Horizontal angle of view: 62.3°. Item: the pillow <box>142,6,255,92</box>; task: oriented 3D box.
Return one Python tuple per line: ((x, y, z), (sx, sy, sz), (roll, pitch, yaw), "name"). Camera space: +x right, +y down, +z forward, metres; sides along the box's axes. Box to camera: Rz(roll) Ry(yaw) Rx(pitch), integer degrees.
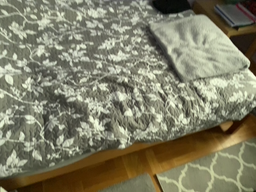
((0.490, -0.390, 1.550), (0.510, 0.120, 0.730), (-13, 55, -19), "pillow")
